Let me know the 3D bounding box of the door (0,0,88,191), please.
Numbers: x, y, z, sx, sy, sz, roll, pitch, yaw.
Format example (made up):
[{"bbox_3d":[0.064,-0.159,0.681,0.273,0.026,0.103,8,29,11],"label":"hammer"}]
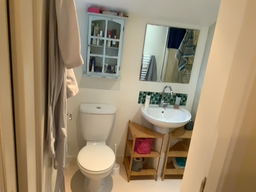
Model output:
[{"bbox_3d":[-0.420,0.120,1.240,0.120,2.250,1.190,6,18,-5],"label":"door"}]

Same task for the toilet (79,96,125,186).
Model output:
[{"bbox_3d":[-0.330,0.470,2.380,0.390,0.770,0.610,3,19,-15],"label":"toilet"}]

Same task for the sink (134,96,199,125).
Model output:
[{"bbox_3d":[0.440,0.170,2.550,0.630,0.170,0.440,3,19,-15],"label":"sink"}]
